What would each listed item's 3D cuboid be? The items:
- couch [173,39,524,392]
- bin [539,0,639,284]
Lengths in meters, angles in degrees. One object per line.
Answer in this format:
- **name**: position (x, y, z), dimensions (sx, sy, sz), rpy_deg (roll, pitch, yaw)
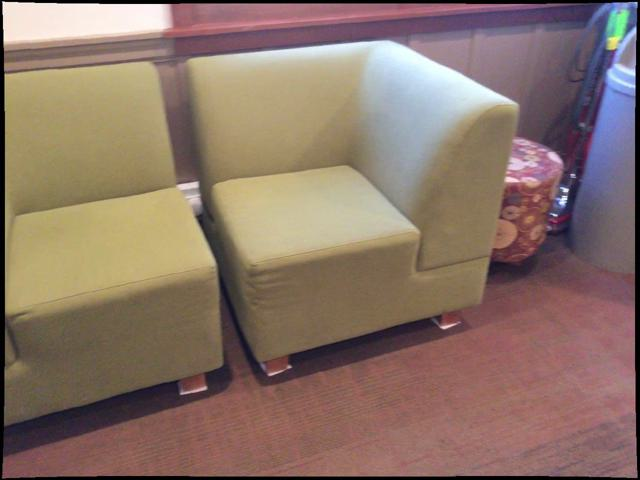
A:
- **couch**: position (0.030, -0.150, 1.950), dimensions (0.808, 0.751, 0.810), rpy_deg (-12, 36, -17)
- **bin**: position (1.167, -0.351, 2.110), dimensions (0.369, 0.922, 0.370), rpy_deg (-11, 35, -16)
